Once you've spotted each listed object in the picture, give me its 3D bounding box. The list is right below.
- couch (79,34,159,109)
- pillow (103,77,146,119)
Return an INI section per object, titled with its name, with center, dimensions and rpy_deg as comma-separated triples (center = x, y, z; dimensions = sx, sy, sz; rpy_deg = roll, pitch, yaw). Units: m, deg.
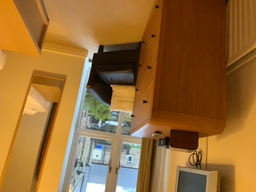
[couch]
center = -0.070, -0.260, 2.580
dimensions = 0.720, 0.680, 0.570
rpy_deg = 1, 162, 21
[pillow]
center = -0.050, 0.020, 2.630
dimensions = 0.440, 0.390, 0.110
rpy_deg = 20, -166, 17
